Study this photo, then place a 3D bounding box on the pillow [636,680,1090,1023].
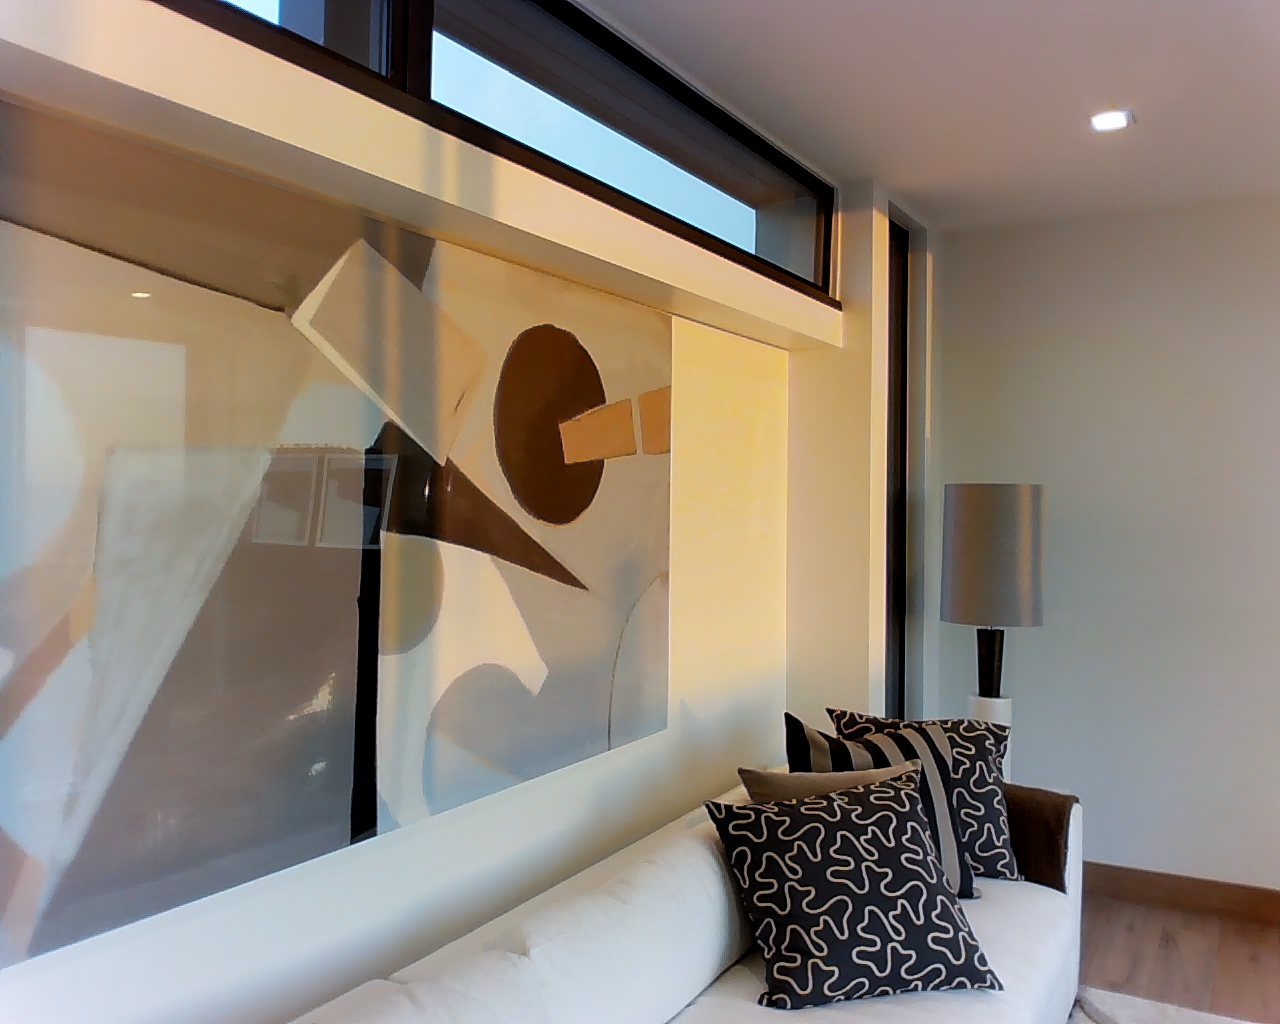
[{"bbox_3d":[0.670,0.830,2.860,0.750,0.500,1.350,1,1,32],"label":"pillow"}]
